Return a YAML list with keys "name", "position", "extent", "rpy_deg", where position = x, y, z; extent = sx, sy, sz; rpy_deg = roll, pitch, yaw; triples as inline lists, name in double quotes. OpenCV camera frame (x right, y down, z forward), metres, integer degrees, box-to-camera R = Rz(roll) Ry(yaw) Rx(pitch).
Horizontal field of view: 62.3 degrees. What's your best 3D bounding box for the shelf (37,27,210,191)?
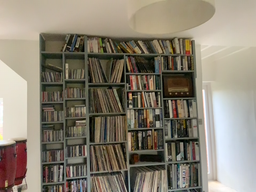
- name: "shelf"
  position: [-0.030, 0.480, 2.780]
  extent: [2.090, 2.630, 0.350]
  rpy_deg: [-1, -4, -11]
